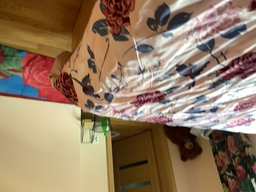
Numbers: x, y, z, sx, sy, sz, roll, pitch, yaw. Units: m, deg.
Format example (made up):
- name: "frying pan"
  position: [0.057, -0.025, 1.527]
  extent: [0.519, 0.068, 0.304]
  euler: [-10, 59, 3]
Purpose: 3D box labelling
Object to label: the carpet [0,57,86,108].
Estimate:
- name: "carpet"
  position: [-0.770, -0.080, 1.840]
  extent: [0.690, 0.090, 0.560]
  euler: [6, 149, -23]
